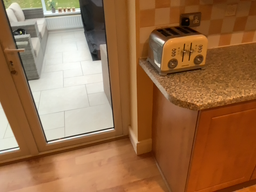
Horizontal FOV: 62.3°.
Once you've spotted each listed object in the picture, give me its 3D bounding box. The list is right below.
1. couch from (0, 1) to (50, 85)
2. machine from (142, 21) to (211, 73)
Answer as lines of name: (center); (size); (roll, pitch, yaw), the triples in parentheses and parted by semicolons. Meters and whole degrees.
couch: (-1.980, -1.000, 3.620); (0.870, 0.850, 1.840); (-8, 33, -9)
machine: (0.270, -0.310, 1.280); (0.290, 0.190, 0.290); (-11, 33, -13)
